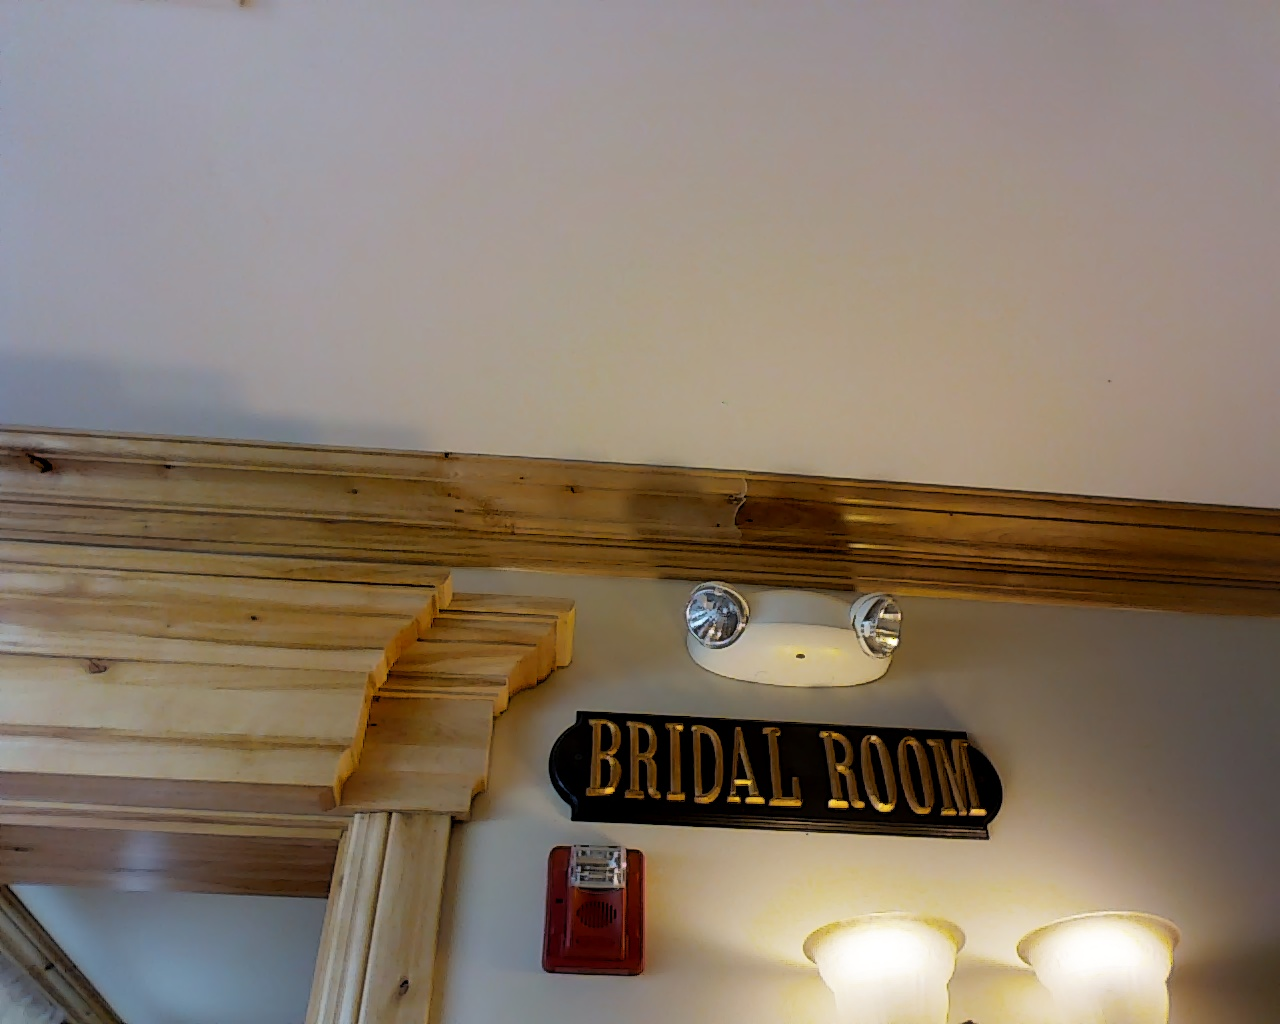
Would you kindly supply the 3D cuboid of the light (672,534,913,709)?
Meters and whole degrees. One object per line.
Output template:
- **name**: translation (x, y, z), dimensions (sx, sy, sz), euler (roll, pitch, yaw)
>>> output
- **light**: translation (0.200, 0.150, 1.470), dimensions (0.290, 0.180, 0.120), euler (5, -42, -7)
